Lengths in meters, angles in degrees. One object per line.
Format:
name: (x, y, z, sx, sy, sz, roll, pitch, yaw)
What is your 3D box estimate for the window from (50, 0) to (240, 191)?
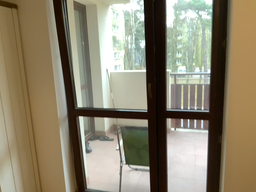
window: (0.090, -0.010, 1.890, 1.500, 2.520, 0.190, 2, 13, 17)
